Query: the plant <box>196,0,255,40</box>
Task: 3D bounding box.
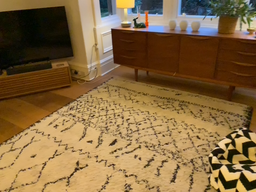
[{"bbox_3d":[1.150,-0.940,2.400,0.540,0.440,0.480,18,34,32],"label":"plant"}]
